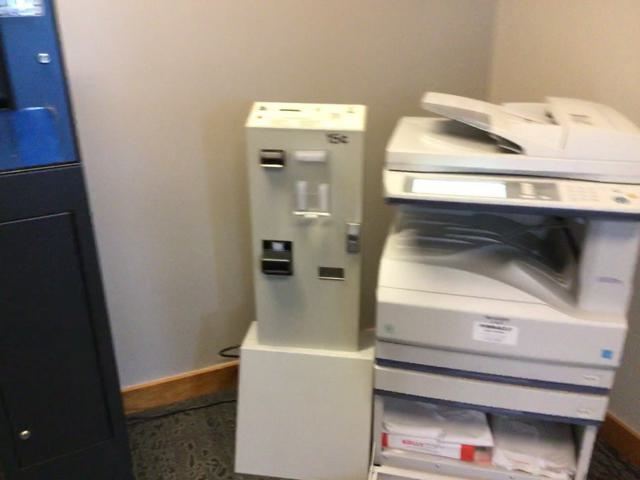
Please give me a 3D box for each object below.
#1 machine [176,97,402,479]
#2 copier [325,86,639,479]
[{"bbox_3d":[-0.040,0.160,1.680,0.450,1.060,0.500,5,21,15],"label":"machine"},{"bbox_3d":[0.490,0.170,1.610,0.730,1.070,0.770,6,22,18],"label":"copier"}]
